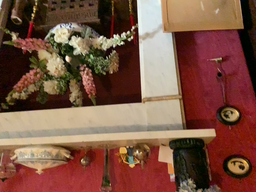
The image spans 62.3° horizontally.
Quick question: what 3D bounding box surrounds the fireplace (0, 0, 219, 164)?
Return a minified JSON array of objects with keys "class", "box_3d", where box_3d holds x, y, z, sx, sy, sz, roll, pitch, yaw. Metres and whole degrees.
[{"class":"fireplace","box_3d":[-0.350,-0.190,1.510,1.520,1.170,0.790,-5,157,8]}]
